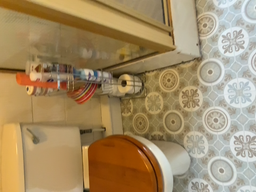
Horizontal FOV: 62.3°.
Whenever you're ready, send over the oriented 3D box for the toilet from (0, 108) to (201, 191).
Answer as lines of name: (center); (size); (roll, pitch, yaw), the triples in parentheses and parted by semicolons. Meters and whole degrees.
toilet: (-0.130, 0.350, 1.080); (0.660, 0.760, 0.500); (-9, 83, 42)
